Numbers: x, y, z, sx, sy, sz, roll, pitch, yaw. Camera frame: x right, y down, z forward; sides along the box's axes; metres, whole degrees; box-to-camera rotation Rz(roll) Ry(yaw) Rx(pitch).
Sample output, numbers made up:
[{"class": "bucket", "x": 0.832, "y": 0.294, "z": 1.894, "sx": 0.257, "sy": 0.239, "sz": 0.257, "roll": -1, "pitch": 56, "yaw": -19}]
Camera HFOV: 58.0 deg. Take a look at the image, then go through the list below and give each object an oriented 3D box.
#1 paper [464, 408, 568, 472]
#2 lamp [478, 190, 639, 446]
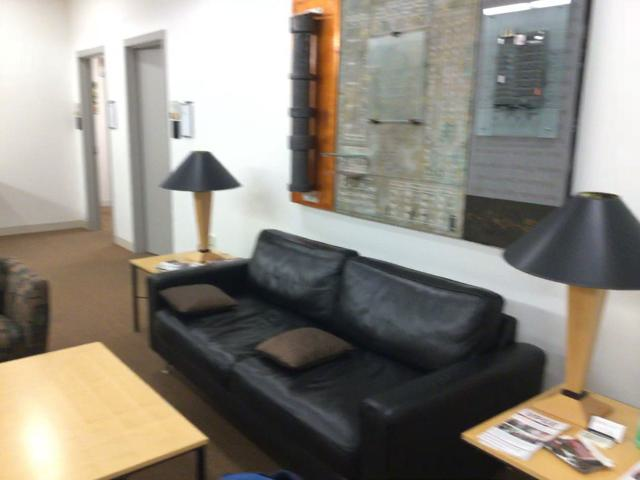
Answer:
[{"class": "paper", "x": 0.590, "y": 0.590, "z": 1.730, "sx": 0.300, "sy": 0.030, "sz": 0.160, "roll": -6, "pitch": 16, "yaw": -40}, {"class": "lamp", "x": 0.780, "y": 0.200, "z": 1.770, "sx": 0.290, "sy": 0.650, "sz": 0.400, "roll": -6, "pitch": 16, "yaw": -40}]
